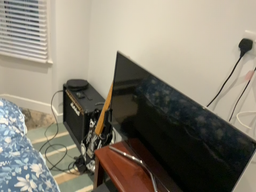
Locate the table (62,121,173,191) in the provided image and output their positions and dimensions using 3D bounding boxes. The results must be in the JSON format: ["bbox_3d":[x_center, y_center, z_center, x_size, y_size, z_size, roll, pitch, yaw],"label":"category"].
[{"bbox_3d":[-0.120,0.610,1.470,0.420,0.530,0.620,-15,37,-37],"label":"table"}]
